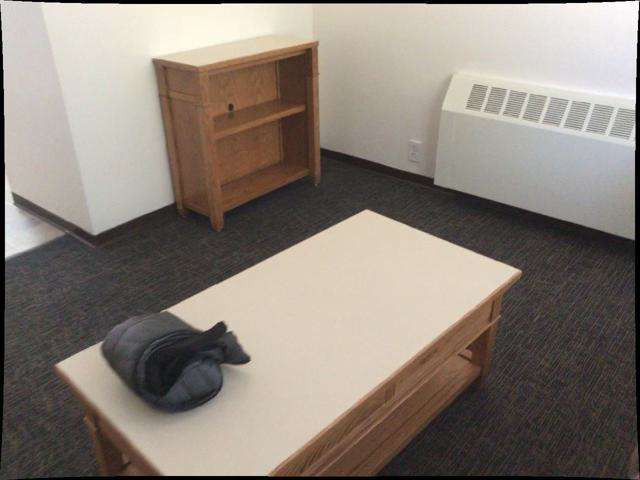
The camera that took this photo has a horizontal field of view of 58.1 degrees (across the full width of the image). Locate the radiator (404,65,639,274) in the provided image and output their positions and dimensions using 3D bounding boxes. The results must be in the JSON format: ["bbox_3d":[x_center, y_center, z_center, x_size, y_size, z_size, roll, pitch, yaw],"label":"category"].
[{"bbox_3d":[1.398,-0.200,2.290,2.158,0.661,0.270,18,34,28],"label":"radiator"}]

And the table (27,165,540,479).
[{"bbox_3d":[0.010,0.300,1.530,0.629,0.531,1.160,22,37,33],"label":"table"}]

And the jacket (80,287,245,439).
[{"bbox_3d":[-0.319,0.240,1.190,0.230,0.130,0.220,22,37,33],"label":"jacket"}]

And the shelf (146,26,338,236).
[{"bbox_3d":[-0.319,-0.571,2.820,0.350,0.751,0.880,22,37,33],"label":"shelf"}]
